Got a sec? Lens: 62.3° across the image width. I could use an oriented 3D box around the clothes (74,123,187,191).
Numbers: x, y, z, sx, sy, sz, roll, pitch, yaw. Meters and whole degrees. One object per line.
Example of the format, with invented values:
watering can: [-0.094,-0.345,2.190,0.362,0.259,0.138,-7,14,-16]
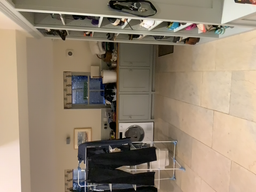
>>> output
clothes: [-0.020,1.060,3.630,0.920,1.720,1.000,-166,76,-78]
